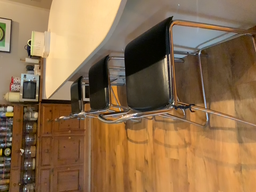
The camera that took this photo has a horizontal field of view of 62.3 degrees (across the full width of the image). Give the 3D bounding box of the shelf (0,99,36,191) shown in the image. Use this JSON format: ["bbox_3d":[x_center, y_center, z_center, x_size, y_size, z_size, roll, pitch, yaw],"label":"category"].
[{"bbox_3d":[-2.080,0.860,3.320,0.260,1.080,1.620,-17,72,61],"label":"shelf"}]

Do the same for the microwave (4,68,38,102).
[{"bbox_3d":[-1.810,-0.170,3.600,0.360,0.460,0.500,-16,73,61],"label":"microwave"}]
